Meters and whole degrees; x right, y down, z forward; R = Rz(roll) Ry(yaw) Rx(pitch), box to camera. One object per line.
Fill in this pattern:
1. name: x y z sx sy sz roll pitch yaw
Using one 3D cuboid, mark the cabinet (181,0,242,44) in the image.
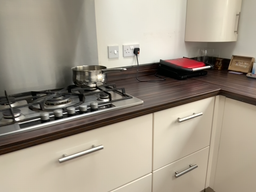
1. cabinet: 0.690 -0.820 1.720 0.310 0.740 0.320 -12 21 -31
